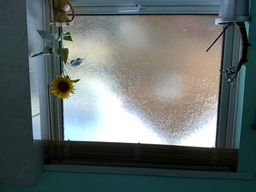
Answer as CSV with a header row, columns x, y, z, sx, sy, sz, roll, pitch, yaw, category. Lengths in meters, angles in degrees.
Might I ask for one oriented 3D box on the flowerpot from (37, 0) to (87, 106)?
x,y,z,sx,sy,sz,roll,pitch,yaw,category
-0.380,-0.270,1.260,0.230,0.640,0.160,1,-172,0,flowerpot
